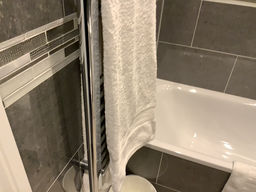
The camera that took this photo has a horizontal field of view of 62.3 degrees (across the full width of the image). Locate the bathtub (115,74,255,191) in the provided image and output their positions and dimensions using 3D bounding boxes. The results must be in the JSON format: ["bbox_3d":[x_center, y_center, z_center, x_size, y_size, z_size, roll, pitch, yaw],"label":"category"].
[{"bbox_3d":[0.830,0.460,1.360,1.670,0.600,0.690,15,36,14],"label":"bathtub"}]

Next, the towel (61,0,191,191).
[{"bbox_3d":[0.020,-0.050,0.650,0.200,0.780,0.380,15,36,14],"label":"towel"}]
